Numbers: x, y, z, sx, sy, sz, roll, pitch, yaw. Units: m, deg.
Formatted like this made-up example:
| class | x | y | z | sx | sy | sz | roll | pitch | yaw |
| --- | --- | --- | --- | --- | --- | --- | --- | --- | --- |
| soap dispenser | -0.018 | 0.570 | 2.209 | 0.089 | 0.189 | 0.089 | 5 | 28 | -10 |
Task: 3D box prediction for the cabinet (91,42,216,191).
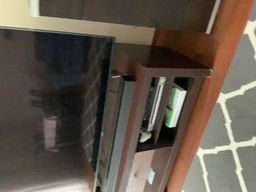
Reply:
| class | x | y | z | sx | sy | sz | roll | pitch | yaw |
| --- | --- | --- | --- | --- | --- | --- | --- | --- | --- |
| cabinet | 0.100 | 0.270 | 1.710 | 0.530 | 0.530 | 1.230 | 50 | 135 | 51 |
